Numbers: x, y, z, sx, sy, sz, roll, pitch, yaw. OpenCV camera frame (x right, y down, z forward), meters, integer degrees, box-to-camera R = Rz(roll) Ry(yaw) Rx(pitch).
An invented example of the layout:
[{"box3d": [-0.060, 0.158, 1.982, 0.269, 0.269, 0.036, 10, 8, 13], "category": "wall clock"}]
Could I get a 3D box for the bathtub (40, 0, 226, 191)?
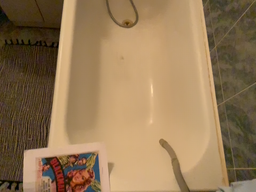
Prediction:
[{"box3d": [-0.020, -0.210, 1.240, 0.660, 0.600, 1.390, 1, 72, -7], "category": "bathtub"}]
